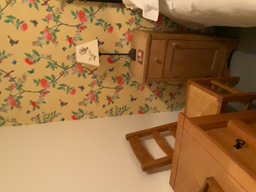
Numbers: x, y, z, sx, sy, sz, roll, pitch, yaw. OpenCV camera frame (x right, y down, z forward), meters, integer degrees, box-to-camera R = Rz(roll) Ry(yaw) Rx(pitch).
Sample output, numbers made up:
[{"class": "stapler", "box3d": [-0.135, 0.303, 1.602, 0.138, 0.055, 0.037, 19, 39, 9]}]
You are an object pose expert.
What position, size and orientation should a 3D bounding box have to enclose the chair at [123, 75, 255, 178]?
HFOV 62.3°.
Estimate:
[{"class": "chair", "box3d": [0.470, 0.160, 1.530, 0.450, 0.900, 0.480, -130, 40, -61]}]
